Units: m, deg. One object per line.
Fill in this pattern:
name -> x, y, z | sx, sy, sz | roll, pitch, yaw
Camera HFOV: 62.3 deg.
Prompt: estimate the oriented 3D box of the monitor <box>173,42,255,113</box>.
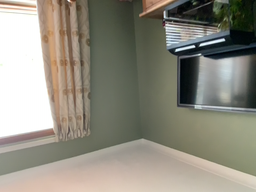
monitor -> 0.750, -0.160, 1.950 | 0.030, 0.530, 0.900 | -2, -176, -32
